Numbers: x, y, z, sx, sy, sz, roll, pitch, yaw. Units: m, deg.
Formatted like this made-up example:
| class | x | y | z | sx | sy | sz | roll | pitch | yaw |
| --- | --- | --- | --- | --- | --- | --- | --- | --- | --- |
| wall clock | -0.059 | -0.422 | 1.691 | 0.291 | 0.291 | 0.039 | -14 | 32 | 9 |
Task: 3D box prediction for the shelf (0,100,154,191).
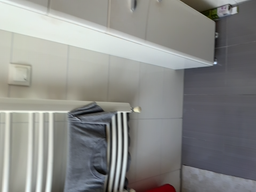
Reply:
| class | x | y | z | sx | sy | sz | roll | pitch | yaw |
| --- | --- | --- | --- | --- | --- | --- | --- | --- | --- |
| shelf | -0.430 | 0.280 | 0.860 | 0.170 | 1.380 | 0.510 | 4 | 90 | 48 |
